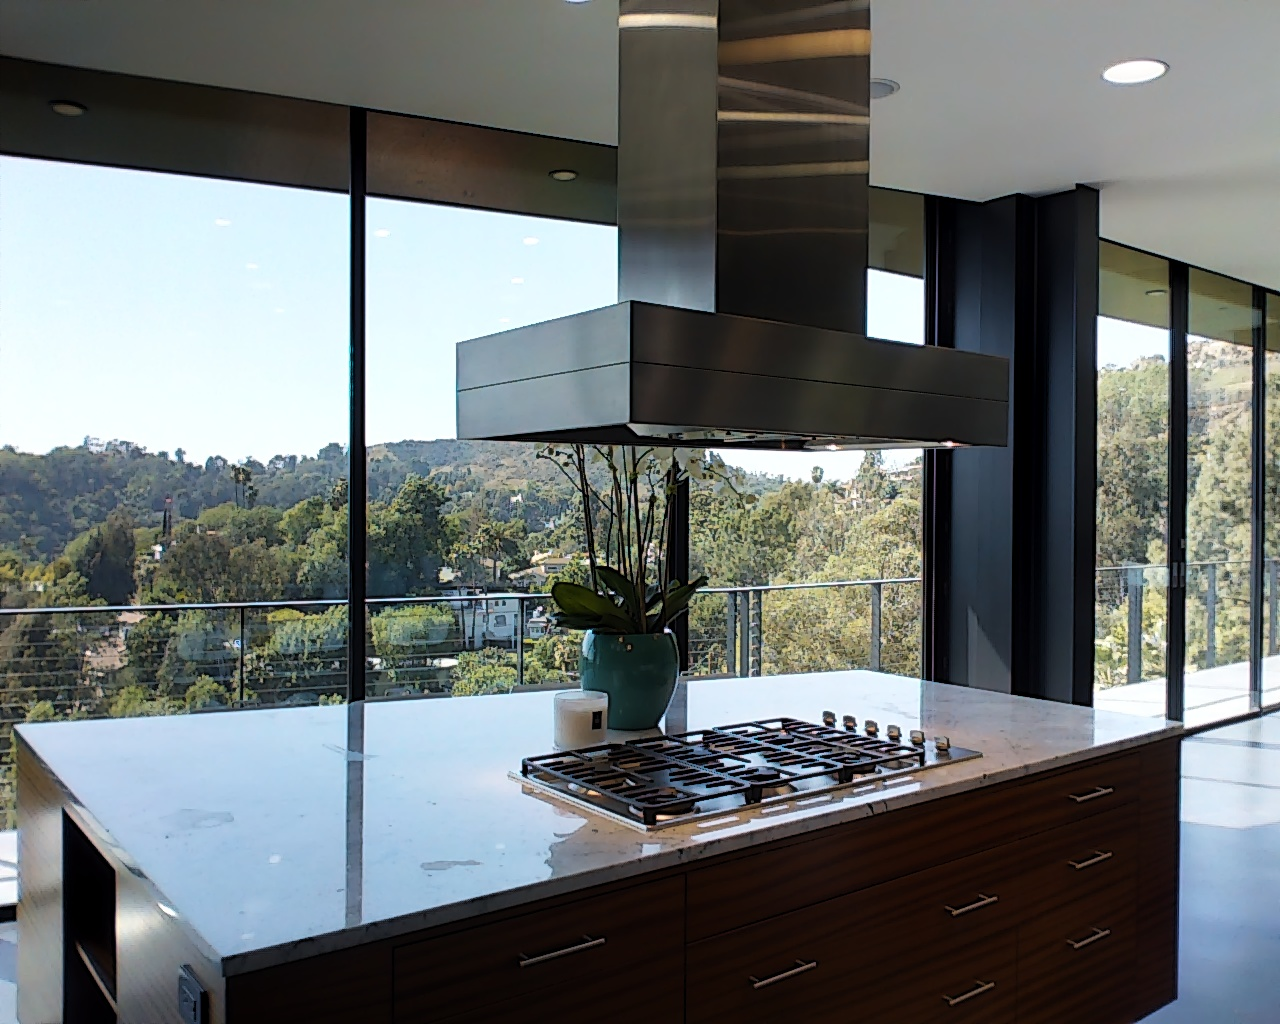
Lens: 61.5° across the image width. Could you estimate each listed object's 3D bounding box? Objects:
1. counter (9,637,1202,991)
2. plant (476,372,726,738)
[{"bbox_3d":[-0.050,0.600,3.110,2.810,0.060,2.000,0,1,-38],"label":"counter"},{"bbox_3d":[-0.140,0.110,3.290,0.440,0.980,0.700,0,1,-35],"label":"plant"}]
